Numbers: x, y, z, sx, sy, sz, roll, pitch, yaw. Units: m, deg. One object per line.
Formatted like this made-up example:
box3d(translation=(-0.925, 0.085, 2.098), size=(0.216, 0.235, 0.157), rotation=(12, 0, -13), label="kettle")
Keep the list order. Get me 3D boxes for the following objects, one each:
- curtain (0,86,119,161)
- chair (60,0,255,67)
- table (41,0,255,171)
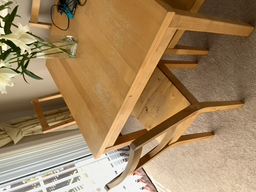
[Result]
box3d(translation=(-1.190, 0.280, 1.750), size=(0.520, 2.350, 0.220), rotation=(51, 133, 32), label="curtain")
box3d(translation=(0.160, -0.480, 1.100), size=(0.430, 0.810, 0.450), rotation=(61, 138, 23), label="chair")
box3d(translation=(0.020, -0.310, 1.410), size=(0.990, 0.770, 0.960), rotation=(51, 134, 32), label="table")
